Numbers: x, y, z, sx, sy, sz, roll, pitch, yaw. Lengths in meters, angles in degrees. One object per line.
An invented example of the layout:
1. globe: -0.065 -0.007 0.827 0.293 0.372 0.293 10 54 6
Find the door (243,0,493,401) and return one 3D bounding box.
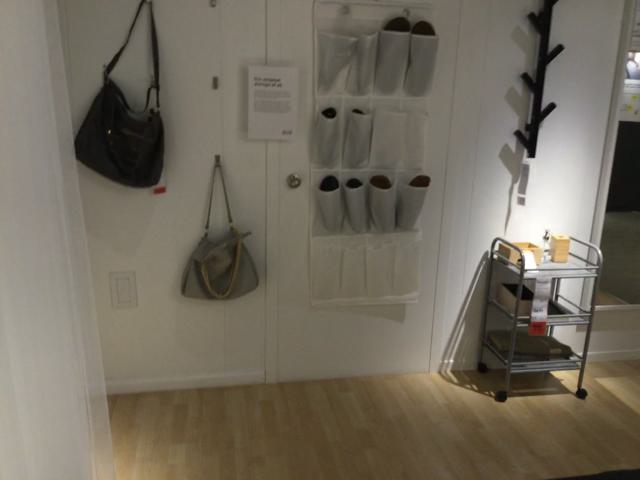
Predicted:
1. door: 0.220 -0.280 2.620 1.050 2.000 0.160 -4 13 -11

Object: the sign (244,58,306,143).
1. sign: -0.190 -0.590 2.450 0.240 0.340 0.090 -4 13 -11
